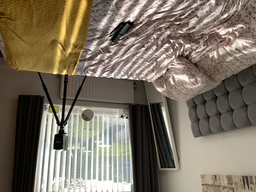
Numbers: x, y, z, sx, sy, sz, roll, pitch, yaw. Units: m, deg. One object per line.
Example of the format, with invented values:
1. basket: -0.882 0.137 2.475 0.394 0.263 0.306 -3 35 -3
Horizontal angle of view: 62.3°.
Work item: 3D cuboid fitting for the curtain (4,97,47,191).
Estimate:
1. curtain: -1.260 0.970 2.580 0.370 1.920 0.210 5 161 -22
